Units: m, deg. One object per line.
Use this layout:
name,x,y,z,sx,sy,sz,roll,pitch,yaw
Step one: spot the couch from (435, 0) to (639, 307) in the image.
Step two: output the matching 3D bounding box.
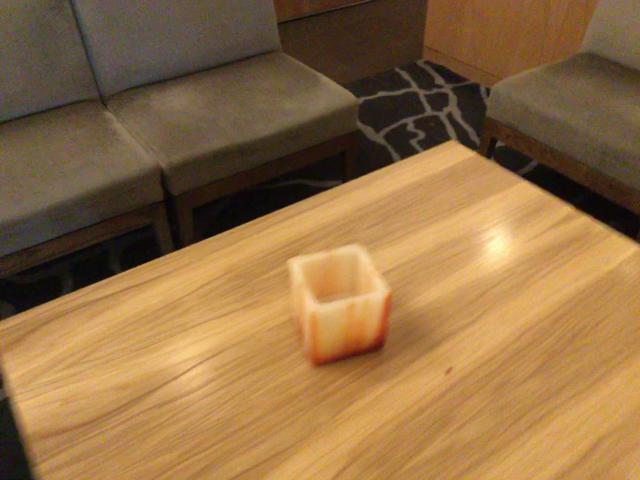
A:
couch,1.200,-0.320,1.730,0.730,0.850,1.550,-23,43,-26

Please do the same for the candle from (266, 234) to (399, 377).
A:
candle,0.020,0.110,1.030,0.160,0.130,0.170,-23,43,-26

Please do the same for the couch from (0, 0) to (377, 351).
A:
couch,-0.650,-0.400,1.850,1.510,0.830,0.730,-24,43,-27
